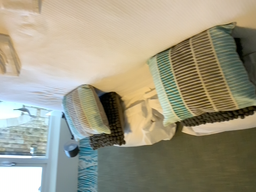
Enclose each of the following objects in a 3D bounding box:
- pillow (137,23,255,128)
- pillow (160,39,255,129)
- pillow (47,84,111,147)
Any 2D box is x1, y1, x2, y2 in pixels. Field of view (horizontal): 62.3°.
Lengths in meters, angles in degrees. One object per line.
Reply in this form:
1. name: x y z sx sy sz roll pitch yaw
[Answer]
1. pillow: 0.290 -0.070 0.980 0.410 0.350 0.130 -20 178 40
2. pillow: 0.440 -0.040 1.100 0.450 0.330 0.130 -20 -179 40
3. pillow: -0.360 0.150 1.510 0.400 0.350 0.130 -20 -179 38
